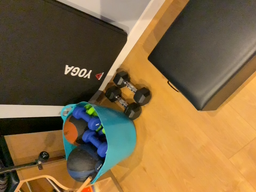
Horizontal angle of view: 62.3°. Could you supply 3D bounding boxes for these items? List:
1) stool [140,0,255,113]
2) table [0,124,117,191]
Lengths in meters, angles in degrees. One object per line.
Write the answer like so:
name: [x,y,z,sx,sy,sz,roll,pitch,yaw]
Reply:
stool: [0.450,-0.320,0.950,0.390,0.260,0.720,50,117,28]
table: [-0.640,0.620,1.450,0.630,0.780,0.520,-48,62,26]
